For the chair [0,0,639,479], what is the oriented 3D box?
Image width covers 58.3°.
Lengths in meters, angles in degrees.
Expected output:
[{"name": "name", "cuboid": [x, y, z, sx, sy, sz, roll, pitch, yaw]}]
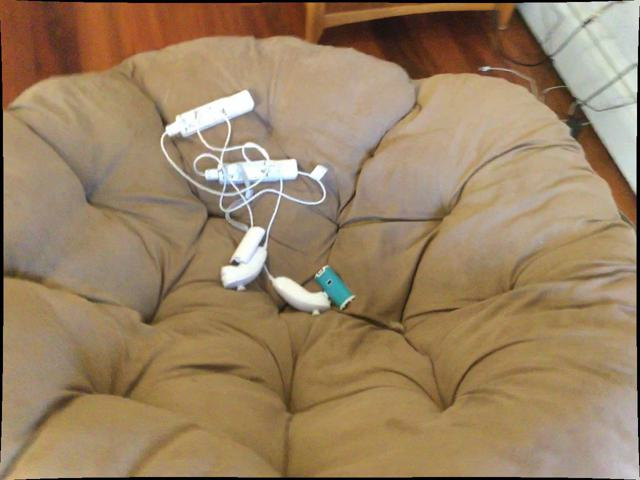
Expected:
[{"name": "chair", "cuboid": [-0.080, 0.040, 1.010, 1.119, 0.760, 1.121, -12, 62, -11]}]
